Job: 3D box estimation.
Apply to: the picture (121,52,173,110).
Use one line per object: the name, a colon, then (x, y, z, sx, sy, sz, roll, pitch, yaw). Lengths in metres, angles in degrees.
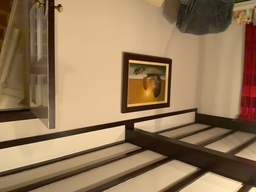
picture: (0.340, -0.240, 3.330, 0.080, 0.800, 1.140, 8, -171, 44)
